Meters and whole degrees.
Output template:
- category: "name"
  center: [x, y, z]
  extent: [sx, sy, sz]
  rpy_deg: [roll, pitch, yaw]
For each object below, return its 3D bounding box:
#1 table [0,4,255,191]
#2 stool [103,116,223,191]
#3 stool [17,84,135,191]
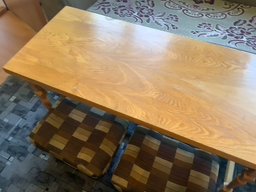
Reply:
- category: "table"
  center: [0.120, 0.040, 1.240]
  extent: [1.340, 0.600, 0.580]
  rpy_deg: [20, 57, 15]
- category: "stool"
  center: [0.180, 0.420, 1.140]
  extent: [0.470, 0.320, 0.380]
  rpy_deg: [20, 57, 15]
- category: "stool"
  center: [-0.260, 0.250, 1.260]
  extent: [0.490, 0.330, 0.390]
  rpy_deg: [20, 57, 15]
